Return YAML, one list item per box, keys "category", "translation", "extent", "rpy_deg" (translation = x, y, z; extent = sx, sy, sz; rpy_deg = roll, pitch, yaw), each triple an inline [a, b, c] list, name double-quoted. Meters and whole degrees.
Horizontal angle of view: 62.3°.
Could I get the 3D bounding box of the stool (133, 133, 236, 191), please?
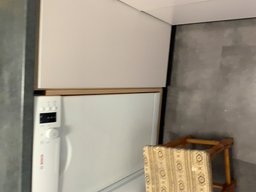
- category: "stool"
  translation: [0.310, 0.390, 1.090]
  extent: [0.340, 0.460, 0.300]
  rpy_deg: [-4, 89, 39]
